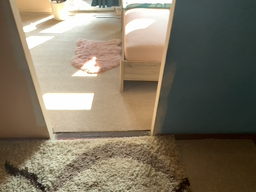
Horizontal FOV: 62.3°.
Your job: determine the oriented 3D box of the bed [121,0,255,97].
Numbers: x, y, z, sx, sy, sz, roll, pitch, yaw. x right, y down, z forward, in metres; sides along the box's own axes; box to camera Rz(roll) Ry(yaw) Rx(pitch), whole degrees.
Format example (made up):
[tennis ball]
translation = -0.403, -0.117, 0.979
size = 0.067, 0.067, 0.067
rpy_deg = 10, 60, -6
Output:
[bed]
translation = 0.810, -0.940, 2.960
size = 1.790, 0.530, 2.310
rpy_deg = 1, 40, -3
